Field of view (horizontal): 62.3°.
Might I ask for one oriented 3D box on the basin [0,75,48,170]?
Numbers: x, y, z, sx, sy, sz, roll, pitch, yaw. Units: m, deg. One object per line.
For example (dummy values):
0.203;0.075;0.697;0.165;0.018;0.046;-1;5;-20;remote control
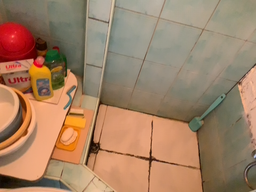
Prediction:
-0.550;0.090;0.880;0.300;0.150;0.330;14;53;-5;basin
